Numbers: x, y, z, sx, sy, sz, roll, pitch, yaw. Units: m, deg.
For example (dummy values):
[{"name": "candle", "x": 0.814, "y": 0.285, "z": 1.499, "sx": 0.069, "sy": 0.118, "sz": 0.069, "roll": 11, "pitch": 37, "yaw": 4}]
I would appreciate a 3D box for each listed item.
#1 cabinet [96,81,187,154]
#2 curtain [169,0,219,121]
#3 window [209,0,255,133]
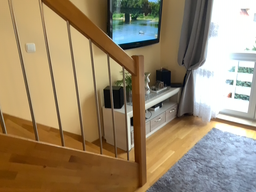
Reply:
[{"name": "cabinet", "x": 0.280, "y": 0.210, "z": 3.120, "sx": 0.520, "sy": 0.500, "sz": 1.480, "roll": 13, "pitch": 24, "yaw": 39}, {"name": "curtain", "x": 0.930, "y": -0.840, "z": 3.050, "sx": 0.560, "sy": 2.390, "sz": 0.260, "roll": 13, "pitch": 24, "yaw": 39}, {"name": "window", "x": 1.820, "y": -0.660, "z": 2.720, "sx": 1.260, "sy": 2.410, "sz": 0.230, "roll": 12, "pitch": 23, "yaw": 36}]
